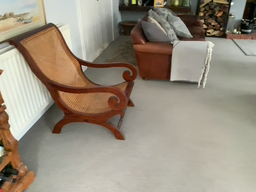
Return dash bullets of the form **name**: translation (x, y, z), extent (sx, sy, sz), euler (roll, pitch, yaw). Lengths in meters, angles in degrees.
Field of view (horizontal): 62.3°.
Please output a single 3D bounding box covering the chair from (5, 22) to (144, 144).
- **chair**: translation (-0.390, -0.170, 2.050), extent (0.970, 0.890, 0.690), euler (6, 30, 11)
